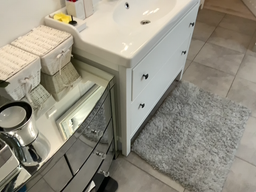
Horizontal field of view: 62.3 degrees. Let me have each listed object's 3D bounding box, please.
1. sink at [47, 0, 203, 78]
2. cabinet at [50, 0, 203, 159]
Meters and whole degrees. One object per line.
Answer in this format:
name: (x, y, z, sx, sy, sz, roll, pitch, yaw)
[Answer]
sink: (0.090, -0.540, 1.300, 0.490, 0.110, 1.060, 25, 51, 21)
cabinet: (0.080, -0.250, 1.620, 0.470, 0.800, 1.090, 25, 51, 21)
